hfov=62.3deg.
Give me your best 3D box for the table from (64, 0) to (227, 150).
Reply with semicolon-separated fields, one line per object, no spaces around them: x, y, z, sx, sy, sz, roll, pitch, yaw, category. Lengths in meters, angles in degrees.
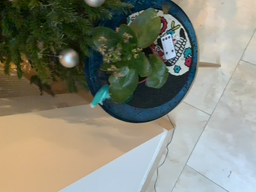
0.090;-0.140;1.010;0.510;0.430;0.490;26;106;26;table
